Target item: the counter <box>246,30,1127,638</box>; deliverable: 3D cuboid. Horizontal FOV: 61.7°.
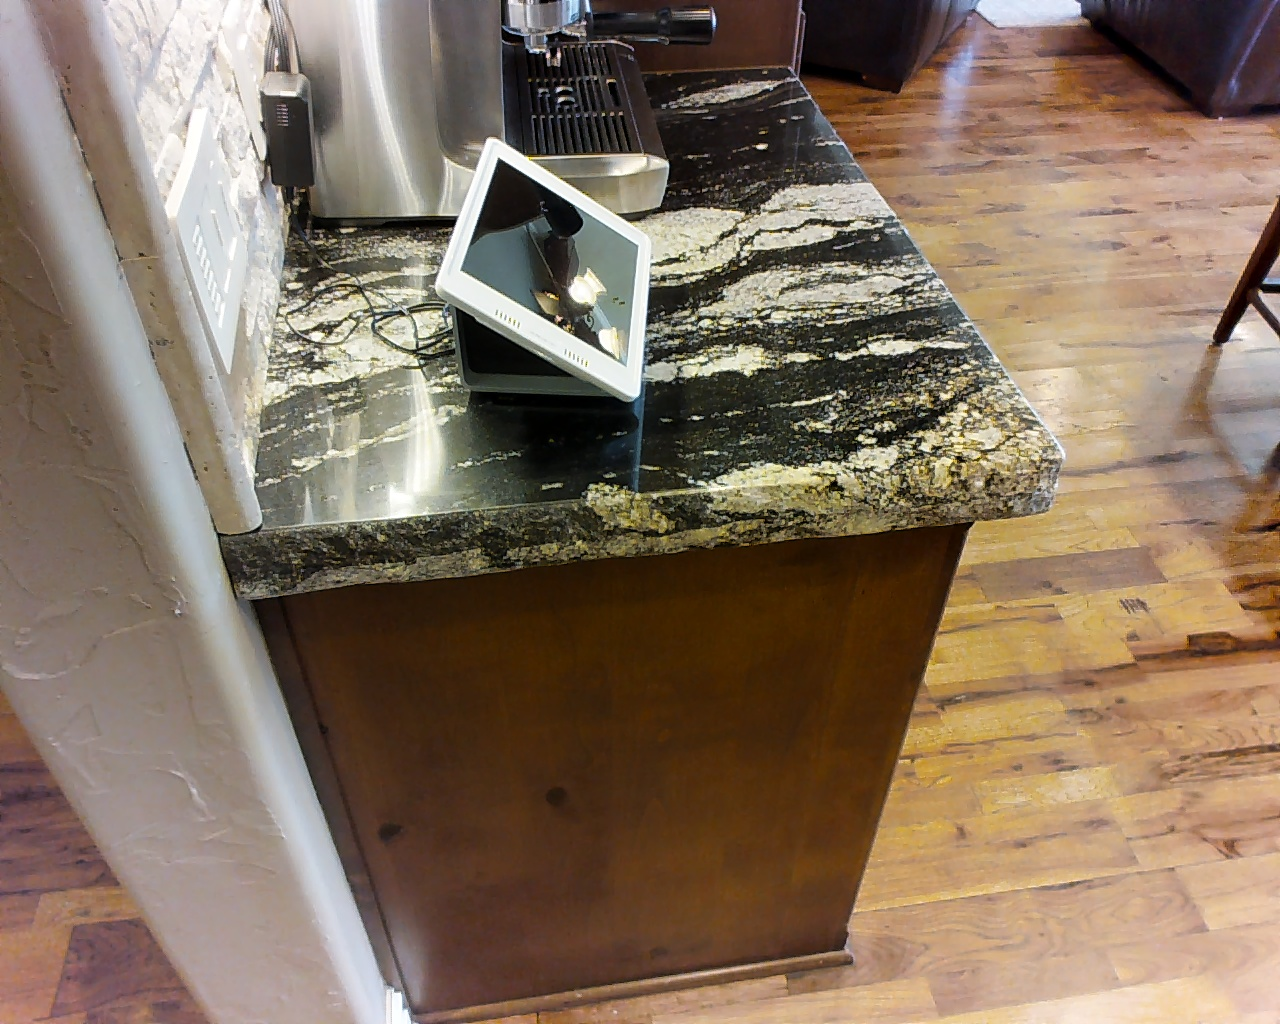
[{"bbox_3d":[-0.020,-0.280,1.150,0.660,0.130,0.880,-6,43,-7],"label":"counter"}]
